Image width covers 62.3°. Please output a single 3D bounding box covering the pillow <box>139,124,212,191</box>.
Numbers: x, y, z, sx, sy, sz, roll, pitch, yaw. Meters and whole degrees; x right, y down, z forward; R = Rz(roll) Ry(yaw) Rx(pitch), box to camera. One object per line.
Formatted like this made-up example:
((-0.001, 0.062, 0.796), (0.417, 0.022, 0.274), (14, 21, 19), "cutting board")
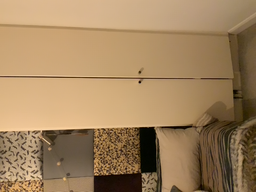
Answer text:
((0.430, 0.580, 1.950), (0.480, 0.410, 0.190), (-46, 0, -9), "pillow")
